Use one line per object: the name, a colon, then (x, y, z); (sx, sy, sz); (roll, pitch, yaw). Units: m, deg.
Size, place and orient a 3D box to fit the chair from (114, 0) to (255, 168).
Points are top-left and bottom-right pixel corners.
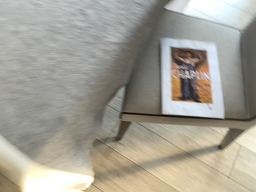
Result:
chair: (0.320, -0.120, 0.750); (0.630, 1.050, 0.510); (11, 66, 0)
